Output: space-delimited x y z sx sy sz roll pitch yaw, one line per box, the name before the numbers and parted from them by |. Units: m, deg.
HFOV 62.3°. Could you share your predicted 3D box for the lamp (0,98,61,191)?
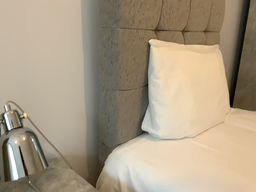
lamp | -0.330 0.180 0.600 0.240 0.280 0.160 16 22 41
